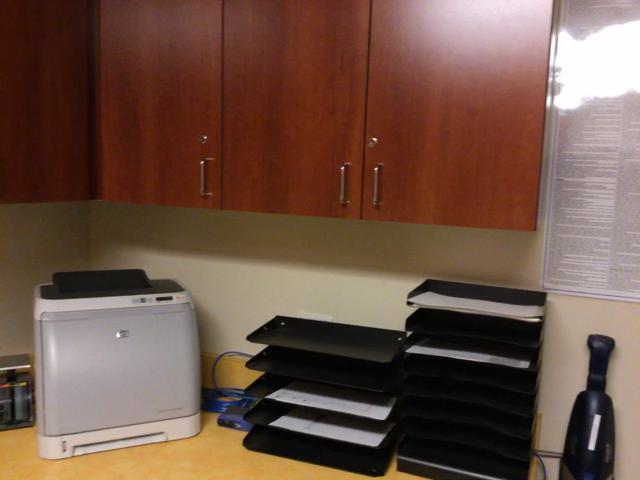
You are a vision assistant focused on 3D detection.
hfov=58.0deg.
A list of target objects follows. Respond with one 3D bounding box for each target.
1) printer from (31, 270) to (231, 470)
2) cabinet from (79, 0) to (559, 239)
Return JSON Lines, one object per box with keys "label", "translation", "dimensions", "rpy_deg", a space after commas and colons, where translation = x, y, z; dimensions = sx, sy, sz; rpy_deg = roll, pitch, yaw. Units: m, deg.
{"label": "printer", "translation": [-0.550, 0.320, 1.640], "dimensions": [0.470, 0.390, 0.440], "rpy_deg": [-2, 6, -27]}
{"label": "cabinet", "translation": [-0.090, -0.270, 1.400], "dimensions": [1.210, 0.460, 0.090], "rpy_deg": [4, 6, 23]}
